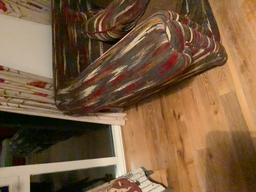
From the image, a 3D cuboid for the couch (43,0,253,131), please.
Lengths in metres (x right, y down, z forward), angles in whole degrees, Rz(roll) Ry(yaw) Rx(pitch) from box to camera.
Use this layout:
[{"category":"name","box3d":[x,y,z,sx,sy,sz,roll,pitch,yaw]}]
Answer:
[{"category":"couch","box3d":[-0.120,-1.070,1.810,1.180,0.790,2.490,-29,63,44]}]
